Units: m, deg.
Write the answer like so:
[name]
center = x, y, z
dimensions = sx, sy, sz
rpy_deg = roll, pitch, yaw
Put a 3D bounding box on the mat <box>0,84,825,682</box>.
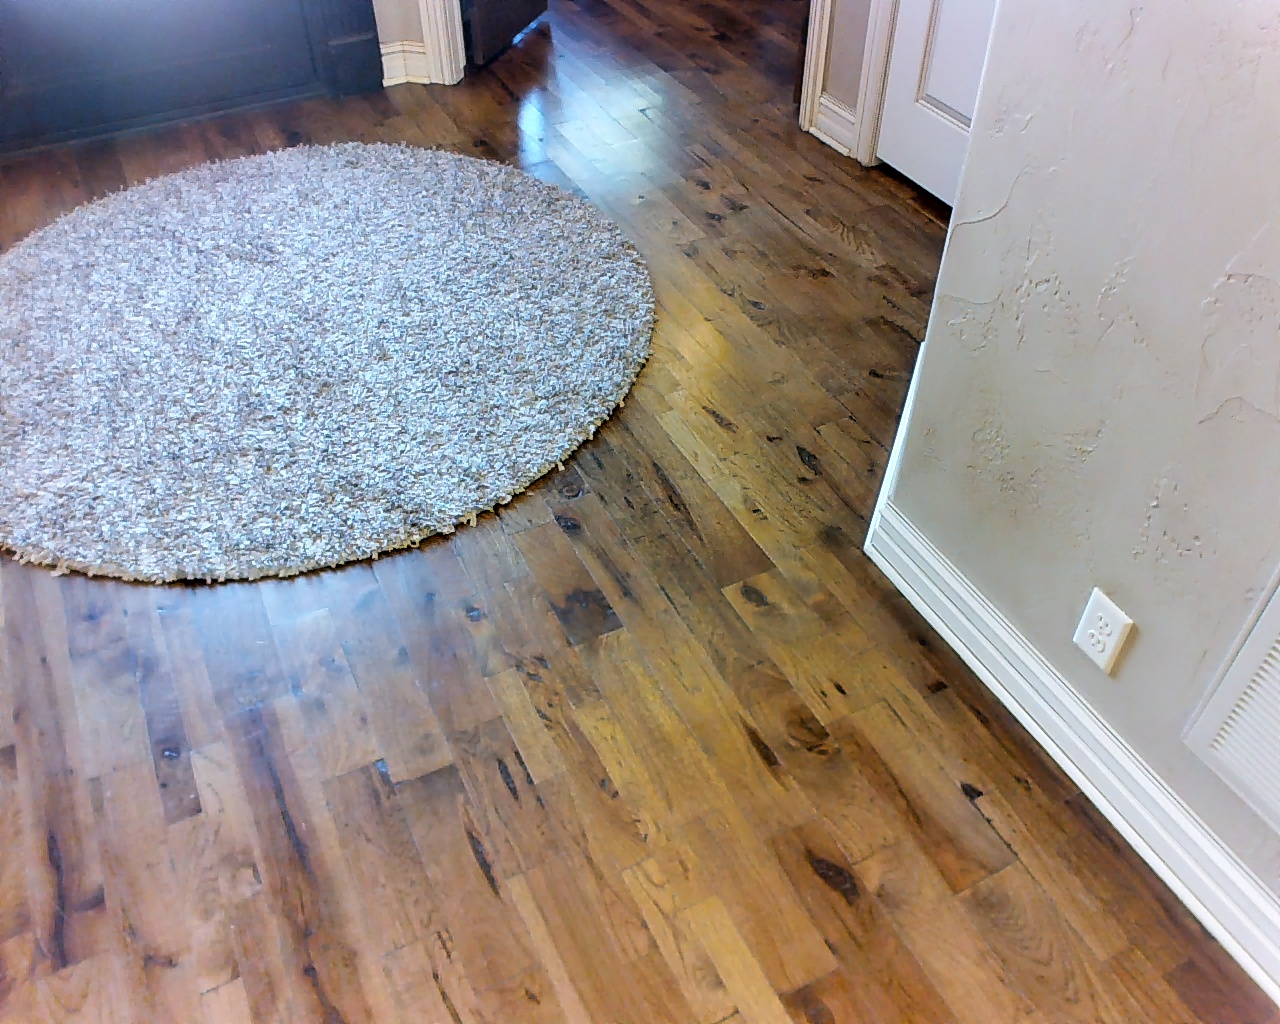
[mat]
center = -0.870, -0.550, 2.720
dimensions = 1.900, 0.030, 1.920
rpy_deg = -20, 47, -19
